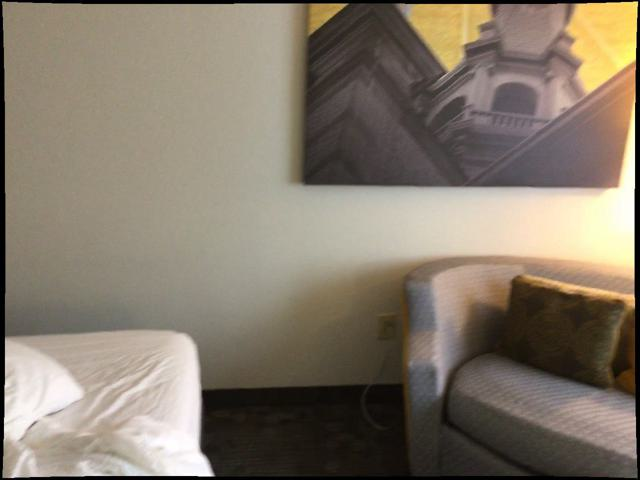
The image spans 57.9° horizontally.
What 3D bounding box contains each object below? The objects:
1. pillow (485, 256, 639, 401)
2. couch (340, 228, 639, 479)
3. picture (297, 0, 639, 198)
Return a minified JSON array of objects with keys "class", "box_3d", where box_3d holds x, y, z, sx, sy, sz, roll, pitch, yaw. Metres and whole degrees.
[{"class":"pillow","box_3d":[0.979,0.320,2.310,0.420,0.320,0.490,16,22,36]},{"class":"couch","box_3d":[1.189,0.631,2.200,1.859,0.791,1.150,13,20,29]},{"class":"picture","box_3d":[0.729,-0.661,2.570,1.628,0.921,0.130,0,18,-10]}]
